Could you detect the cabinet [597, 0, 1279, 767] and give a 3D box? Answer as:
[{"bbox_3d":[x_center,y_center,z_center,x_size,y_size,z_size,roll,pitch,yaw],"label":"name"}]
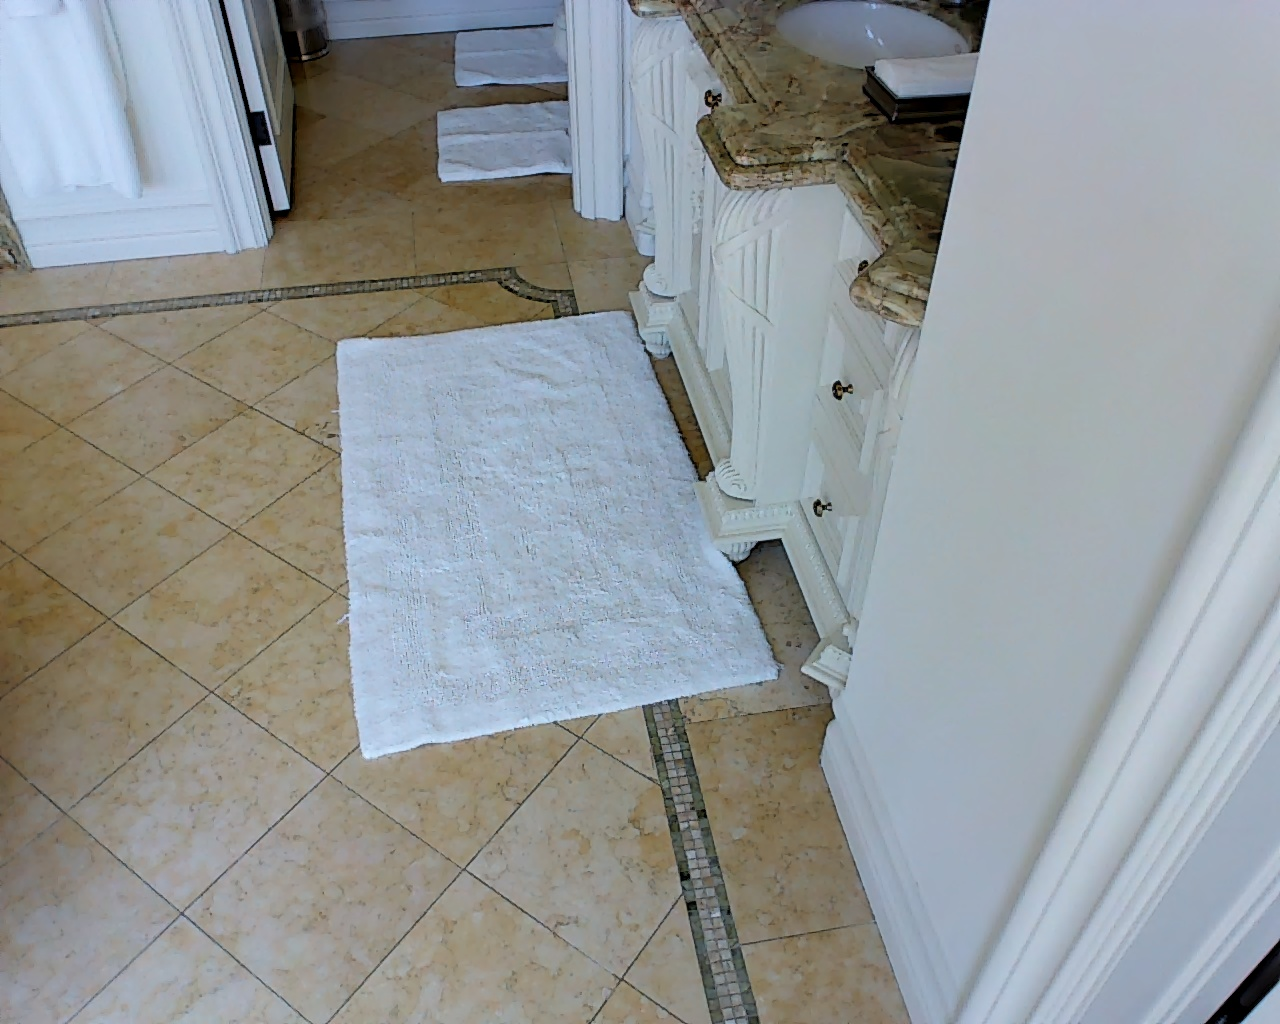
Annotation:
[{"bbox_3d":[0.420,-0.550,2.210,0.750,0.970,1.760,-7,43,-7],"label":"cabinet"}]
